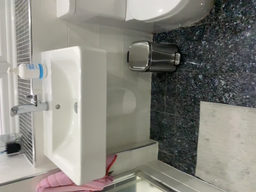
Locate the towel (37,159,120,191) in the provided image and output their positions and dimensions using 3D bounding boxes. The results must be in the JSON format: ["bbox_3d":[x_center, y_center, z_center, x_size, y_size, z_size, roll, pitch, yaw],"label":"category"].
[{"bbox_3d":[-0.270,0.550,1.240,0.120,0.460,0.220,9,100,51],"label":"towel"}]

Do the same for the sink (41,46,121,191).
[{"bbox_3d":[-0.270,0.080,1.090,0.470,0.200,0.610,10,100,50],"label":"sink"}]

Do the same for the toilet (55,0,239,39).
[{"bbox_3d":[0.100,-0.580,1.160,0.660,0.770,0.370,10,100,50],"label":"toilet"}]
